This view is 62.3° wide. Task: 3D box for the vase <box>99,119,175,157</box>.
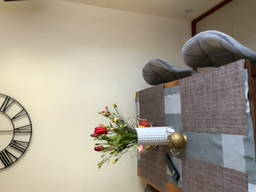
[{"bbox_3d":[0.050,0.240,1.280,0.210,0.410,0.180,170,100,-70],"label":"vase"}]
